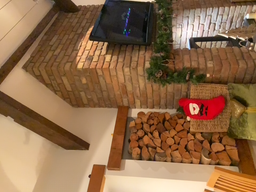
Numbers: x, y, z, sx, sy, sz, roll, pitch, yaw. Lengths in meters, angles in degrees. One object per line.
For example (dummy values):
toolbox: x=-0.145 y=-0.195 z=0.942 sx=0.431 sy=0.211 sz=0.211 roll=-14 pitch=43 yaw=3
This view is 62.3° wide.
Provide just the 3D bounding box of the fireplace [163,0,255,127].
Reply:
fireplace: x=1.140 y=-0.680 z=2.760 sx=1.230 sy=1.320 sz=1.720 roll=83 pitch=-169 yaw=-45
